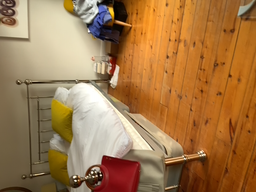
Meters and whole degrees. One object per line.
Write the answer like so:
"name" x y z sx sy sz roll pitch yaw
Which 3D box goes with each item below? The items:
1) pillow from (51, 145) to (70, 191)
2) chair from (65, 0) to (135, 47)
"pillow" -0.960 1.020 2.970 0.510 0.190 0.460 -152 64 -62
"chair" -0.390 -1.100 2.700 0.530 0.670 0.700 135 129 -57
